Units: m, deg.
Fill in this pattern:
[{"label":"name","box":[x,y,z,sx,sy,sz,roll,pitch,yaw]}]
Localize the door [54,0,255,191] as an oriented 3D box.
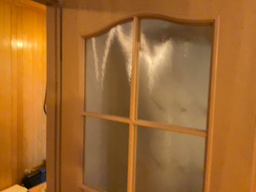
[{"label":"door","box":[0.020,0.580,0.820,0.860,2.130,0.080,5,6,34]}]
